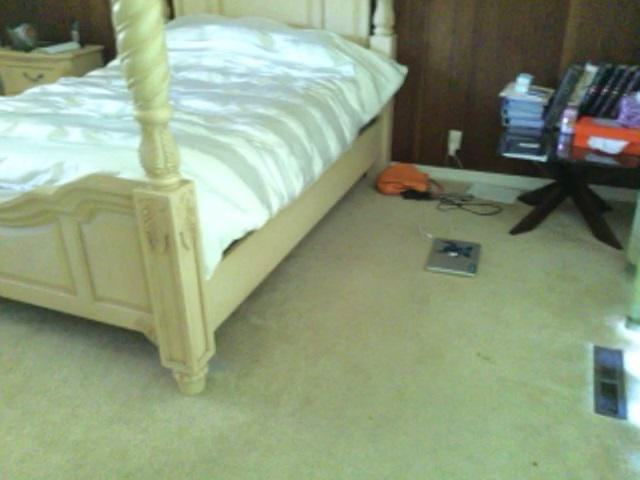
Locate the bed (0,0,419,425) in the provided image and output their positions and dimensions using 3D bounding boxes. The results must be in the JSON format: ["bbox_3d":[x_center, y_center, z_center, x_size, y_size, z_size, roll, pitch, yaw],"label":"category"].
[{"bbox_3d":[-0.800,-1.090,2.570,2.050,2.260,2.330,10,29,18],"label":"bed"}]
